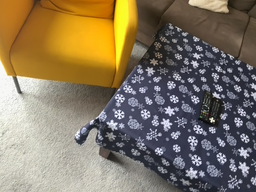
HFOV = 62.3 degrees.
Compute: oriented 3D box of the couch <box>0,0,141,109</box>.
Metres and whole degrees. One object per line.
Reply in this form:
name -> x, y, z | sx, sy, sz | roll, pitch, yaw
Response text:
couch -> -0.390, -0.480, 1.440 | 0.760, 0.720, 0.780 | 9, 54, -11
